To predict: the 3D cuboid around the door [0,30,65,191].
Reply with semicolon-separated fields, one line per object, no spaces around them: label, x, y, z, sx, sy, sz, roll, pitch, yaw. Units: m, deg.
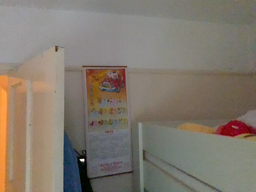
door;-0.490;0.780;0.990;0.050;1.980;0.780;2;-5;-42
